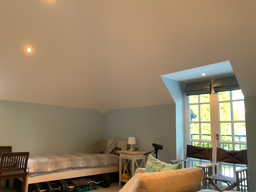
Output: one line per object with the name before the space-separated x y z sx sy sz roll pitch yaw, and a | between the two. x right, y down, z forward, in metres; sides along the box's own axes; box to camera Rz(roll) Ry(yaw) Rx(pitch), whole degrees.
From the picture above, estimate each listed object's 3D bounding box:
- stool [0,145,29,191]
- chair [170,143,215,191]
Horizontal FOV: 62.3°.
stool | -2.090 1.250 3.560 0.390 0.750 1.090 10 -12 -42
chair | 1.090 1.270 3.600 0.540 0.890 0.530 10 -12 -42
